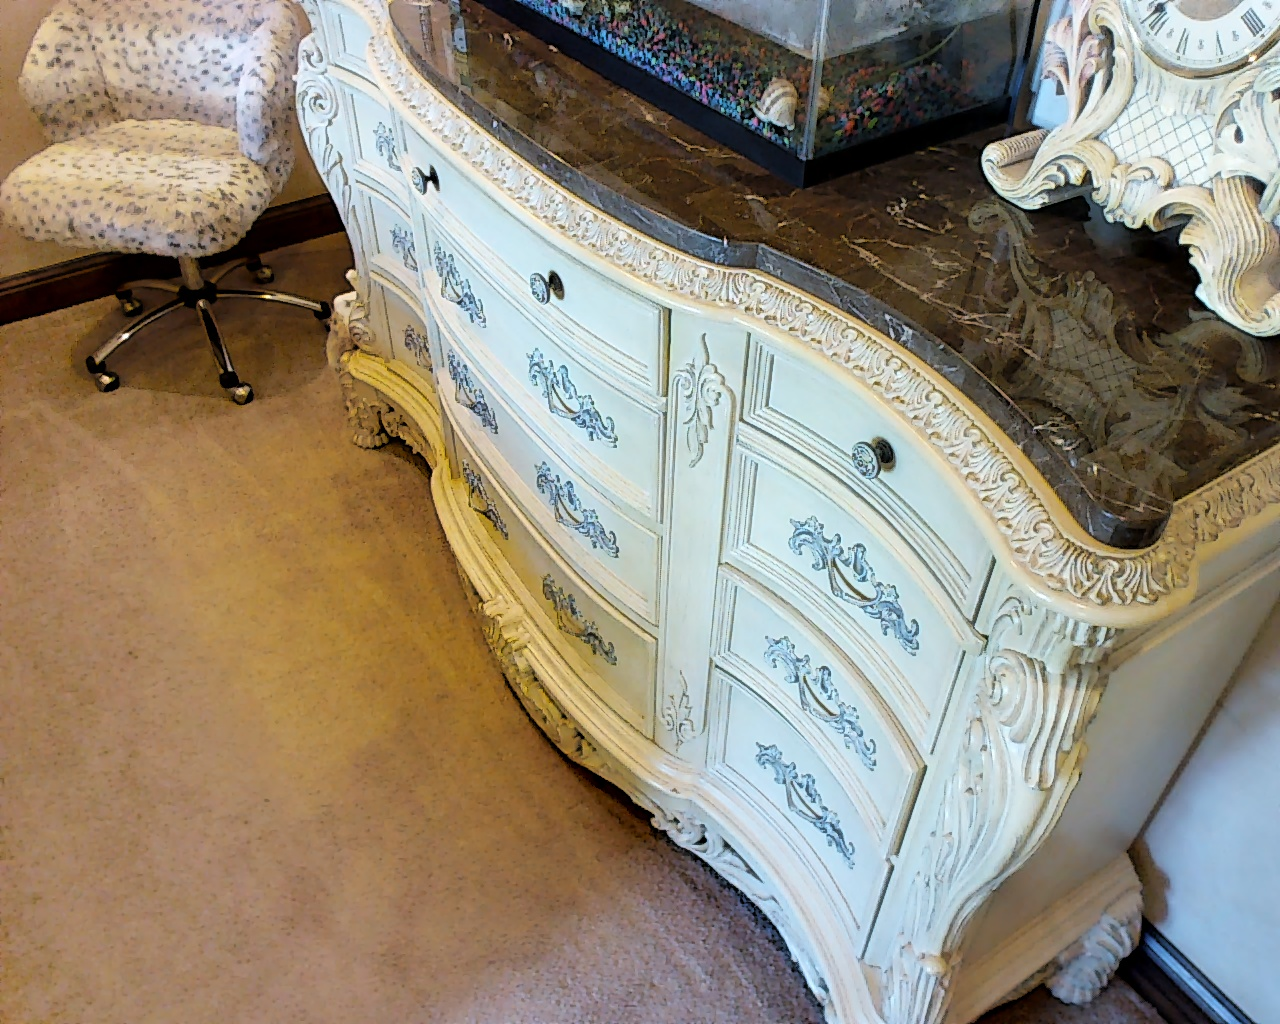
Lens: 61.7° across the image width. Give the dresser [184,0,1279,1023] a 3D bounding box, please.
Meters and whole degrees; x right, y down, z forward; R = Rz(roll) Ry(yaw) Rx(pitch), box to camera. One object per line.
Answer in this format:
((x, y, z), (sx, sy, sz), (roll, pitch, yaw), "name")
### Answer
((-0.010, -0.120, 1.690), (0.570, 1.170, 1.930), (-25, 47, -25), "dresser")
